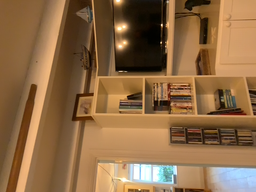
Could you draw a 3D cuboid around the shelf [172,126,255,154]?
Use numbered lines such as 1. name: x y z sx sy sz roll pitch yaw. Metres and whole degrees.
1. shelf: 1.030 0.420 1.980 0.210 1.180 0.200 79 -167 -66
